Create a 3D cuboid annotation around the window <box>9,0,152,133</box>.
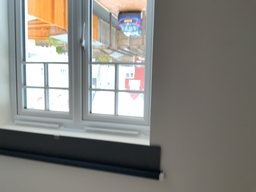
[{"bbox_3d":[-0.360,-0.350,1.470,1.030,1.120,0.070,3,-174,14],"label":"window"}]
